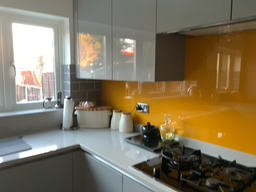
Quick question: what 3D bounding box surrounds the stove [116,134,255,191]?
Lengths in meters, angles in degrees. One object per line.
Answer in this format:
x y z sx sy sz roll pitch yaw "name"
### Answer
0.490 0.420 1.220 0.600 0.060 1.050 -5 8 -40 "stove"
